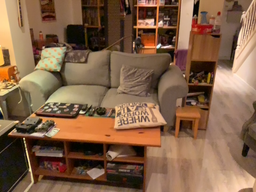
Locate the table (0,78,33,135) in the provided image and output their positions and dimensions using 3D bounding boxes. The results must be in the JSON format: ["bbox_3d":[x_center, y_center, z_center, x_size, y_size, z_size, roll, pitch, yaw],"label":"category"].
[{"bbox_3d":[-1.630,0.110,2.800,0.370,0.550,0.590,1,21,4],"label":"table"}]

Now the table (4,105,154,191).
[{"bbox_3d":[-0.370,0.460,1.970,1.180,0.510,0.550,3,21,7],"label":"table"}]
